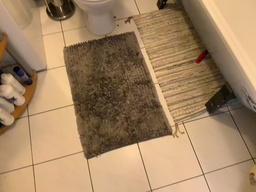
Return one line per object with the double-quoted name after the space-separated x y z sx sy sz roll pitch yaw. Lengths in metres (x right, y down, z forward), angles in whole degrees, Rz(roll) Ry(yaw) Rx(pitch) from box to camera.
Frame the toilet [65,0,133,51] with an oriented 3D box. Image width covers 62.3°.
-0.230 -0.800 1.290 0.370 0.780 0.640 -14 67 -6 "toilet"
